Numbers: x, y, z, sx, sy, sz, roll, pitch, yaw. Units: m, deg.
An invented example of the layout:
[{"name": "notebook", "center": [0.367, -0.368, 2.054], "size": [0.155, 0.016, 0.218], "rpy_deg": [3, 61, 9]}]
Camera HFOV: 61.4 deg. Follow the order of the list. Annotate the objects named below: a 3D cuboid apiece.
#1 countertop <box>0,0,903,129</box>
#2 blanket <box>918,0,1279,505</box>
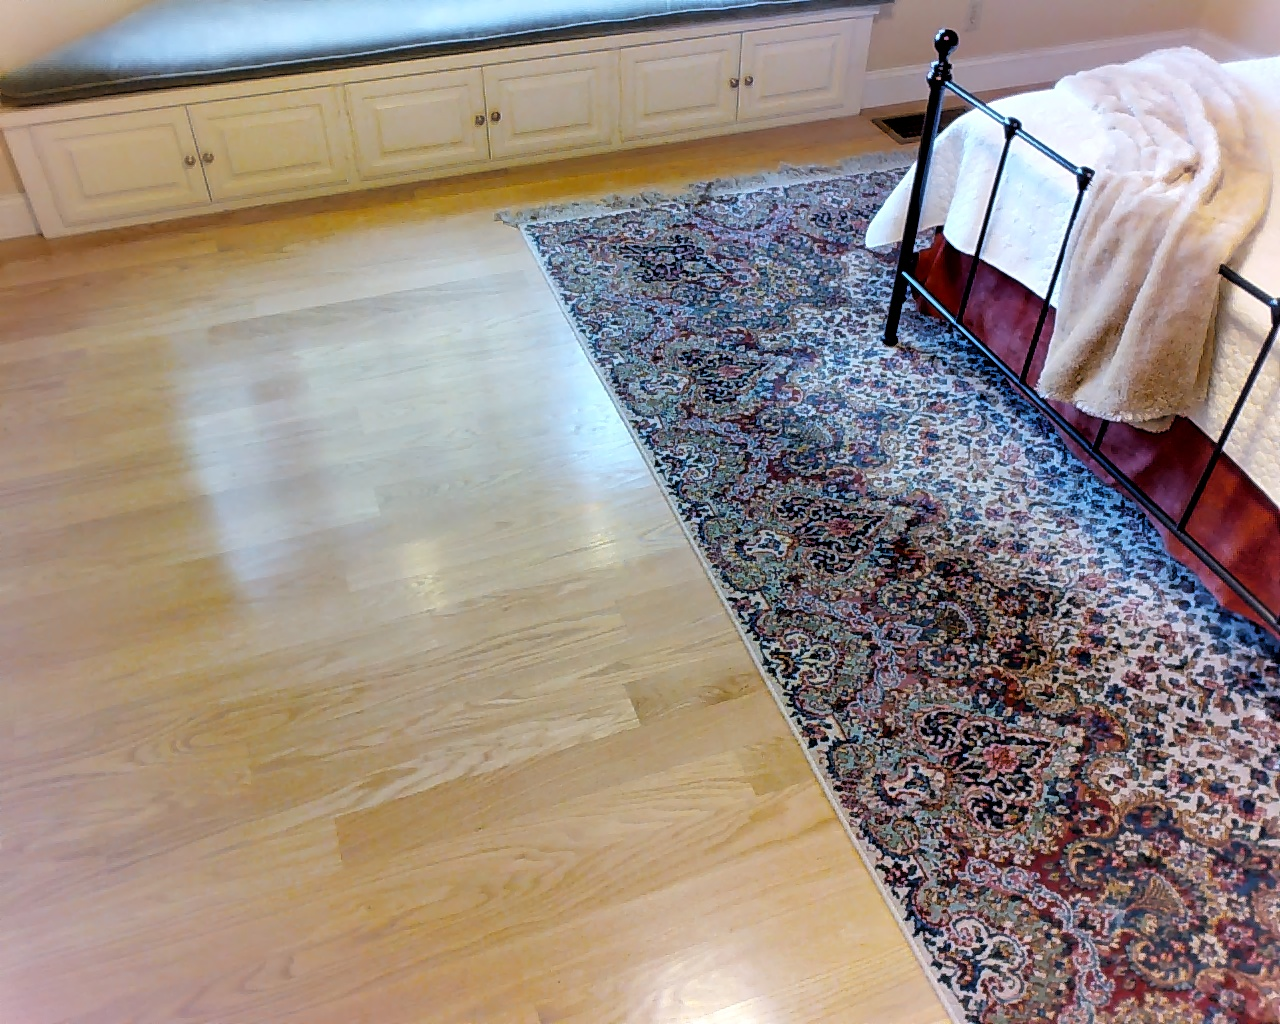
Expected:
[{"name": "countertop", "center": [-0.530, -1.640, 3.490], "size": [2.810, 0.170, 0.610], "rpy_deg": [-14, 44, -15]}, {"name": "blanket", "center": [1.050, -0.650, 2.300], "size": [0.500, 0.410, 1.360], "rpy_deg": [18, 45, 18]}]
